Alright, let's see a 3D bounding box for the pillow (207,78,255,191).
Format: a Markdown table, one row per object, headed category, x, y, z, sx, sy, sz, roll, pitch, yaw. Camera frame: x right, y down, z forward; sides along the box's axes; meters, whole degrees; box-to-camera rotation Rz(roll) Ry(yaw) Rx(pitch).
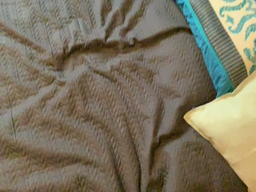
| category | x | y | z | sx | sy | sz | roll | pitch | yaw |
| --- | --- | --- | --- | --- | --- | --- | --- | --- | --- |
| pillow | 0.460 | 0.130 | 0.690 | 0.140 | 0.330 | 0.370 | -13 | 100 | -39 |
